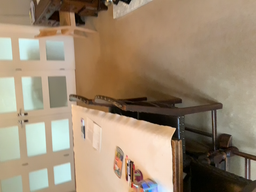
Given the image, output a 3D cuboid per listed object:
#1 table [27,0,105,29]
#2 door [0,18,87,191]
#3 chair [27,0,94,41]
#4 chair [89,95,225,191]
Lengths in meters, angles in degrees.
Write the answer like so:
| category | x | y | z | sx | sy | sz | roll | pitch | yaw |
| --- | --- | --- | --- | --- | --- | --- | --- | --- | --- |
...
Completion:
| category | x | y | z | sx | sy | sz | roll | pitch | yaw |
| --- | --- | --- | --- | --- | --- | --- | --- | --- | --- |
| table | -0.990 | -1.490 | 3.160 | 1.230 | 0.760 | 0.640 | 5 | 99 | 56 |
| door | -1.850 | 0.360 | 3.700 | 0.190 | 2.180 | 3.250 | 7 | 101 | 56 |
| chair | -1.000 | -1.140 | 3.170 | 0.450 | 0.830 | 0.450 | -5 | 90 | 56 |
| chair | 0.220 | 0.300 | 1.550 | 0.470 | 0.870 | 0.490 | 14 | 106 | 55 |
